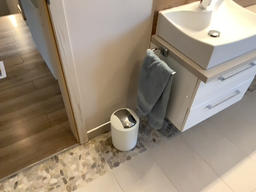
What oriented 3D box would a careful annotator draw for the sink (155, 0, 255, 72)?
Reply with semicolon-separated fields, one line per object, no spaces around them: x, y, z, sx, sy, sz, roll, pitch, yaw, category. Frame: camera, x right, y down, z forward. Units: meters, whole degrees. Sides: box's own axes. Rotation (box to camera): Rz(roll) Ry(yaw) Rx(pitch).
0.520;-0.390;1.200;0.590;0.130;0.420;-23;49;-24;sink
